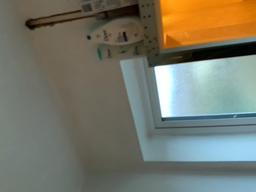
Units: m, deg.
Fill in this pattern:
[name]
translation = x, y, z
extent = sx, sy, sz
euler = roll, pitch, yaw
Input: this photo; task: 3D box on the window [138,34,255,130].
[window]
translation = 0.520, -0.050, 1.180
extent = 0.070, 0.850, 0.530
euler = -70, -28, -57
